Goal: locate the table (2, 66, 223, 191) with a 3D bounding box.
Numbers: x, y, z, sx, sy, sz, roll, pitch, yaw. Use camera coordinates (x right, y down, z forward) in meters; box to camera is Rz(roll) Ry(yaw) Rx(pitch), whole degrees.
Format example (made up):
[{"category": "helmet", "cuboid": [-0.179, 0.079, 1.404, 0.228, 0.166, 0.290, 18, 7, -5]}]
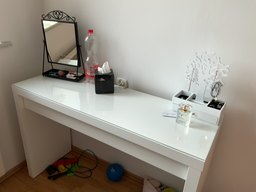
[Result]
[{"category": "table", "cuboid": [-0.160, 0.350, 1.420, 1.260, 0.770, 0.470, 17, 29, 26]}]
